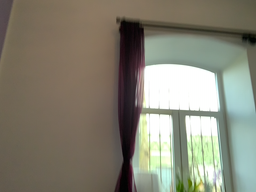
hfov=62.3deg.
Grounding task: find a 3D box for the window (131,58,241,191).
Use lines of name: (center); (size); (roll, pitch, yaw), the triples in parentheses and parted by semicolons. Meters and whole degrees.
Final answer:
window: (0.710, 0.540, 2.800); (1.290, 2.120, 0.260); (2, -17, -3)
